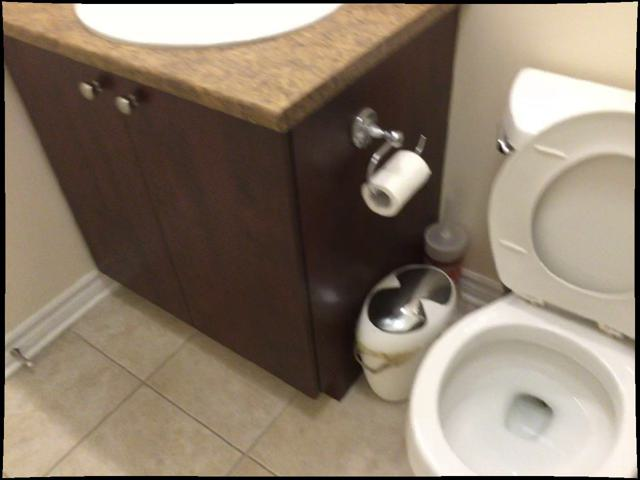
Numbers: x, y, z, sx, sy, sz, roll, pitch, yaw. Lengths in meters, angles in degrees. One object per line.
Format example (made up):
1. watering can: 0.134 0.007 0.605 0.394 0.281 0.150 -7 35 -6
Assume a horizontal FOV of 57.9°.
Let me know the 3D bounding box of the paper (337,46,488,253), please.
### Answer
1. paper: 0.170 -0.170 1.050 0.120 0.230 0.300 25 51 27
